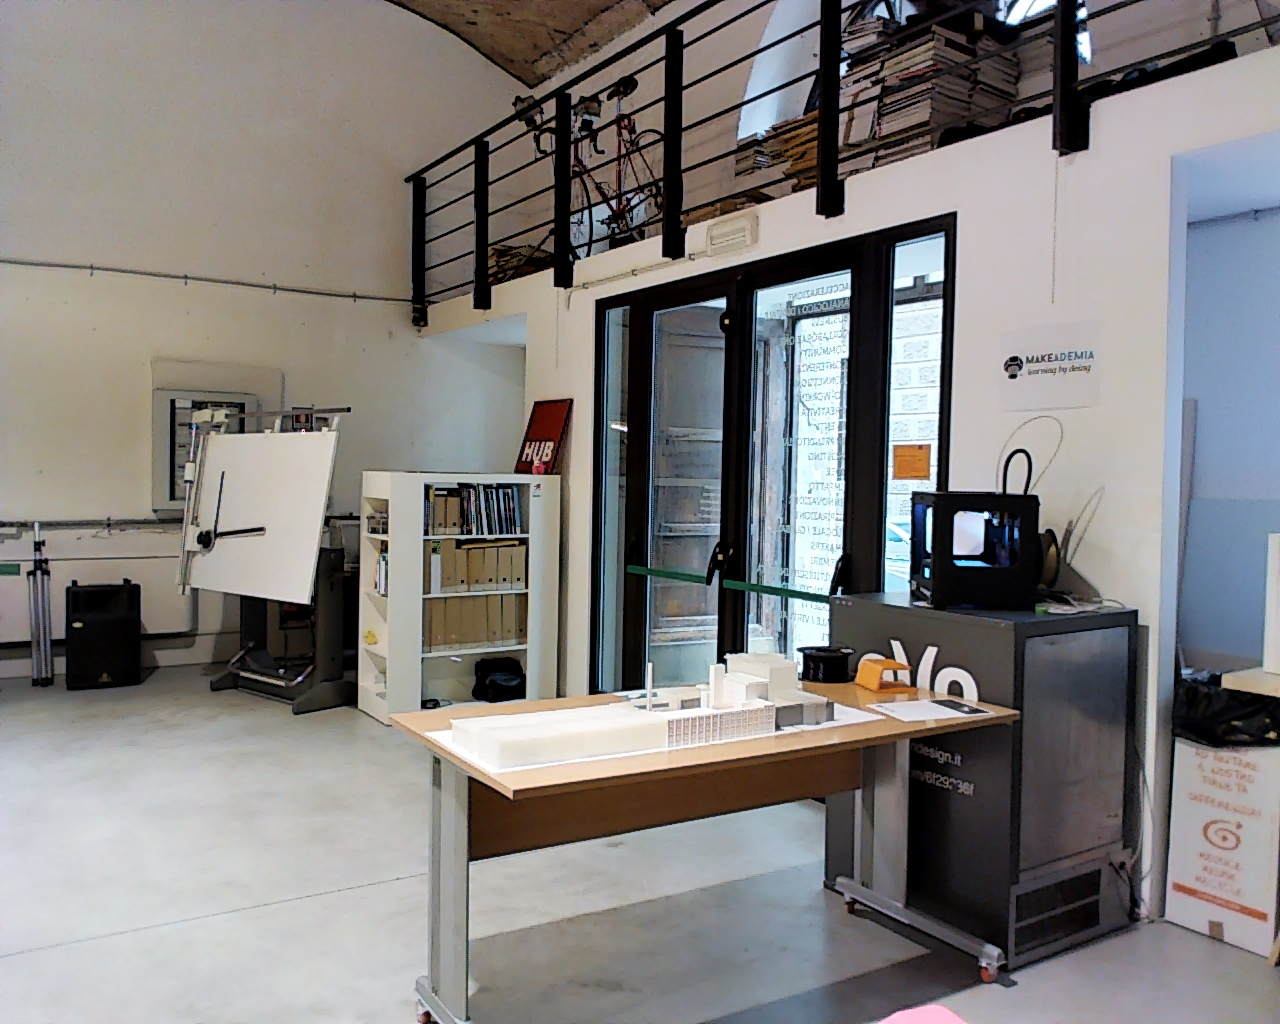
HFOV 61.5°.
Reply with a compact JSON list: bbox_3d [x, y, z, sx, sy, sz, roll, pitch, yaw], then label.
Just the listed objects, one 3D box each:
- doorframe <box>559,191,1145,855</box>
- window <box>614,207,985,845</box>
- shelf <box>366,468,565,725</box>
[{"bbox_3d":[0.870,-0.010,5.850,1.150,2.601,3.180,0,3,-34],"label":"doorframe"},{"bbox_3d":[0.610,0.020,5.350,0.090,2.541,2.520,0,3,-34],"label":"window"},{"bbox_3d":[-1.070,0.470,6.630,1.070,1.460,0.530,0,3,-34],"label":"shelf"}]
